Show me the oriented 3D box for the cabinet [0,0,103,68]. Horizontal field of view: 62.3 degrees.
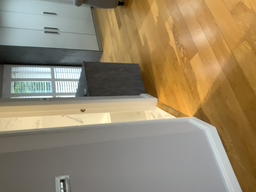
[{"bbox_3d":[-1.880,-1.510,5.150,0.620,2.250,1.520,123,139,-53],"label":"cabinet"}]
